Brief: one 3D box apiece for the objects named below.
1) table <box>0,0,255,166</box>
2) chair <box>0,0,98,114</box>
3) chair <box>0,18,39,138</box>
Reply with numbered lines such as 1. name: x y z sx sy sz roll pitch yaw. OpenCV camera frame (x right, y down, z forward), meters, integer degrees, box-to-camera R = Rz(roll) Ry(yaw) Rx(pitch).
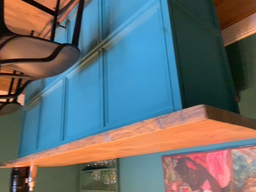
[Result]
1. table: -0.340 -0.110 1.660 0.620 1.110 2.140 13 155 -40
2. chair: -0.500 -0.420 1.090 0.510 0.890 0.450 12 155 -39
3. chair: -1.120 -0.140 1.760 0.530 0.890 0.450 12 155 -39
